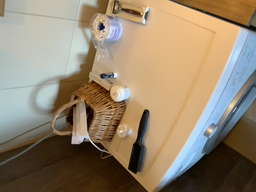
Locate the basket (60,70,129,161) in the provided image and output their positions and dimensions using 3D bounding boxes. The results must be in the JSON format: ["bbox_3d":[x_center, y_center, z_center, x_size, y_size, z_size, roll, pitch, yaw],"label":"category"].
[{"bbox_3d":[-0.140,0.070,0.810,0.200,0.090,0.270,37,120,30],"label":"basket"}]
